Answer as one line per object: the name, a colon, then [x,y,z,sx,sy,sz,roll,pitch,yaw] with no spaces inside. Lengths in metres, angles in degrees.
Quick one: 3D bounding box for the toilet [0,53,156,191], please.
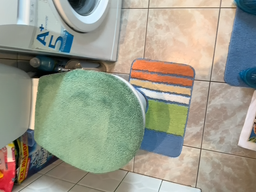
toilet: [-0.290,0.060,0.890,0.660,0.690,0.420,7,98,17]
